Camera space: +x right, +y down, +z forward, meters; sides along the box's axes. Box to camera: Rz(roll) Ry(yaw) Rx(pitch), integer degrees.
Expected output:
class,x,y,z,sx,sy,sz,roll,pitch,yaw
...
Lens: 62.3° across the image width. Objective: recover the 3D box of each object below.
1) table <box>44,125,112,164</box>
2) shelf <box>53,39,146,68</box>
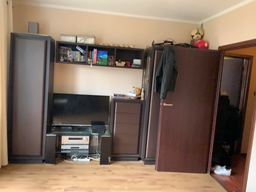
class,x,y,z,sx,sy,sz,roll,pitch,yaw
table,-0.830,0.820,3.650,1.030,0.460,0.580,3,6,-9
shelf,-0.480,-0.730,3.700,1.540,0.350,0.230,3,6,-9
